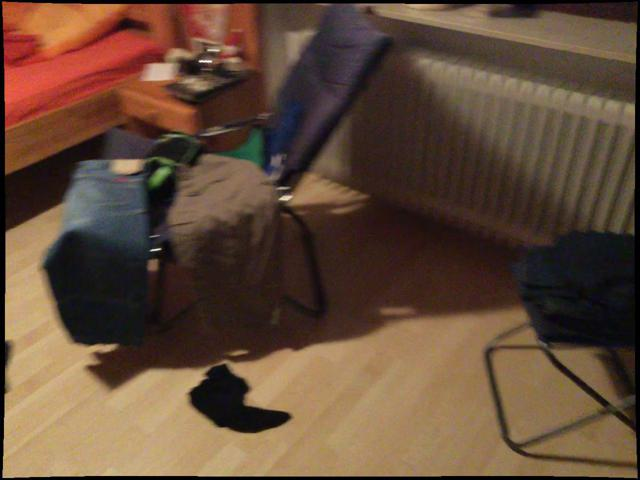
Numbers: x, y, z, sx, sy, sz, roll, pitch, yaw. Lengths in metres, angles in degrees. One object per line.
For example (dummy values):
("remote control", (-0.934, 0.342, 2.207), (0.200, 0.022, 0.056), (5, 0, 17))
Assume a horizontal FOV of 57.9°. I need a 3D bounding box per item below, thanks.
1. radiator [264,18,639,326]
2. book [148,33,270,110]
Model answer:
("radiator", (0.549, -0.280, 2.010), (1.709, 0.650, 0.250), (24, 45, 31))
("book", (-0.420, -0.661, 2.230), (0.250, 0.130, 0.380), (24, 45, 31))
